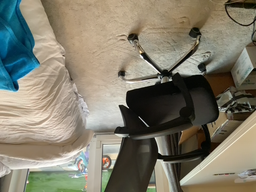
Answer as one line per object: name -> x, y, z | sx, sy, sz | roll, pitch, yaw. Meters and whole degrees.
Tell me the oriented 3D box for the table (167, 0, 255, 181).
table -> 0.830, 0.110, 1.630 | 0.770, 0.720, 1.840 | -3, 150, 2
